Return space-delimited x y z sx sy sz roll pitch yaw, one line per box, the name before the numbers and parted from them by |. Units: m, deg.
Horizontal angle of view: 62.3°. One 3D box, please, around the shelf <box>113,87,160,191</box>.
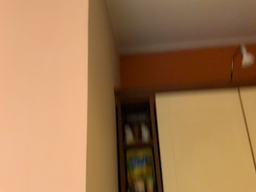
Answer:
shelf | 0.050 0.370 1.090 0.190 0.770 0.290 -4 -18 3
